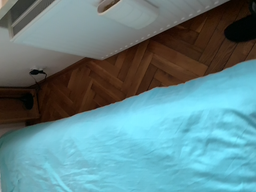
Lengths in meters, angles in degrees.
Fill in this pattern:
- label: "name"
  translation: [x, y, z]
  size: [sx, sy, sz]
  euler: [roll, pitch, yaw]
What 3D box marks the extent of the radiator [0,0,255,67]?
- label: "radiator"
  translation: [0.010, -0.400, 0.950]
  size: [0.980, 0.690, 0.200]
  euler: [-16, 82, 36]
